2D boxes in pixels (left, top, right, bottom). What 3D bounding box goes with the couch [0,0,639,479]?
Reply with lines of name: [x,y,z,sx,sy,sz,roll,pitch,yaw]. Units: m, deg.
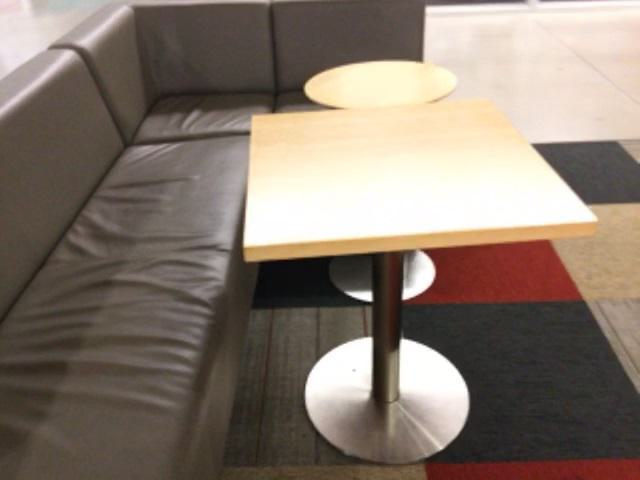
couch: [-0.250,-0.140,1.790,1.360,0.790,2.210,-2,33,4]
